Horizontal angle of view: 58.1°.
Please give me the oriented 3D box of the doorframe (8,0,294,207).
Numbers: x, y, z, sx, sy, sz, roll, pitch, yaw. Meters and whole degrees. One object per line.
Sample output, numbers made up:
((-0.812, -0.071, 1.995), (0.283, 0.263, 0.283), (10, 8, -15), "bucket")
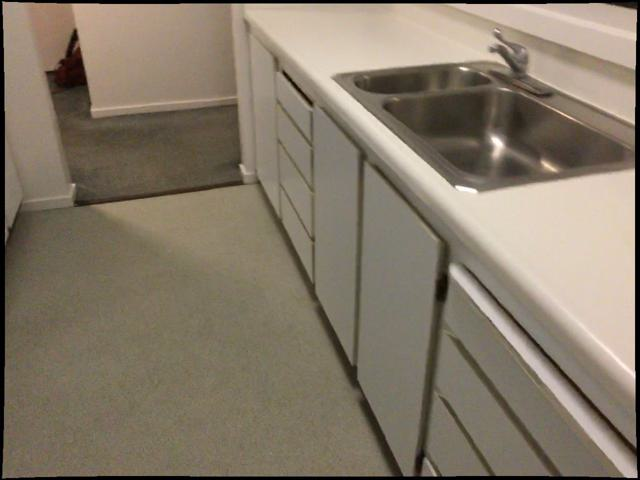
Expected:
((-0.758, -0.902, 2.800), (1.197, 1.373, 0.260), (-9, 33, -13), "doorframe")

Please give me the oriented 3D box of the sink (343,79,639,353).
((0.459, -0.140, 1.410), (0.579, 0.220, 0.830), (-9, 33, -13), "sink")
